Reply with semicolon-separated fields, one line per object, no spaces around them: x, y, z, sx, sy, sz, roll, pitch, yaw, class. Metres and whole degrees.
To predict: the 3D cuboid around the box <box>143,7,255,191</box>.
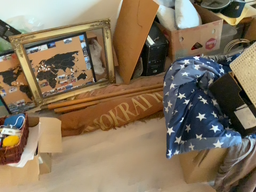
0.550;0.050;1.230;0.750;0.820;0.640;-8;50;-8;box
